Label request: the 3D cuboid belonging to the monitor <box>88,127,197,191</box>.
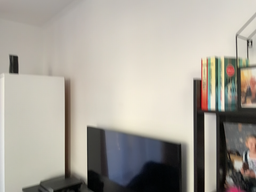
[{"bbox_3d":[0.010,0.530,1.350,0.060,0.560,0.930,-1,1,-40],"label":"monitor"}]
